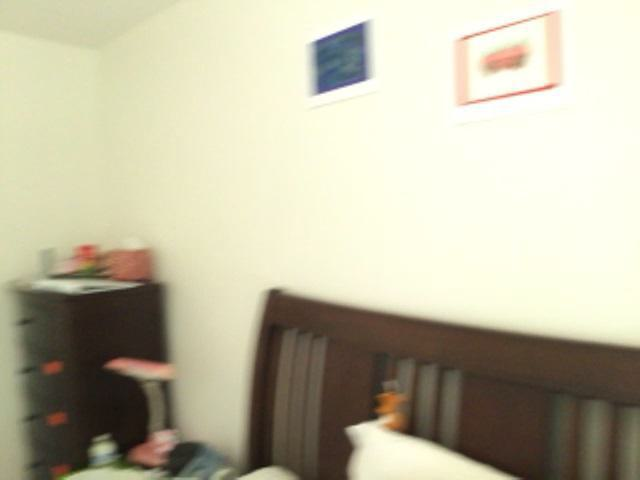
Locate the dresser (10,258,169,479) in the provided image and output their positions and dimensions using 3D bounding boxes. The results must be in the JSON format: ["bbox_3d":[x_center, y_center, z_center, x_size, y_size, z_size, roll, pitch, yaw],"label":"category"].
[{"bbox_3d":[-0.960,0.790,2.390,0.420,1.360,0.590,-2,5,-42],"label":"dresser"}]
